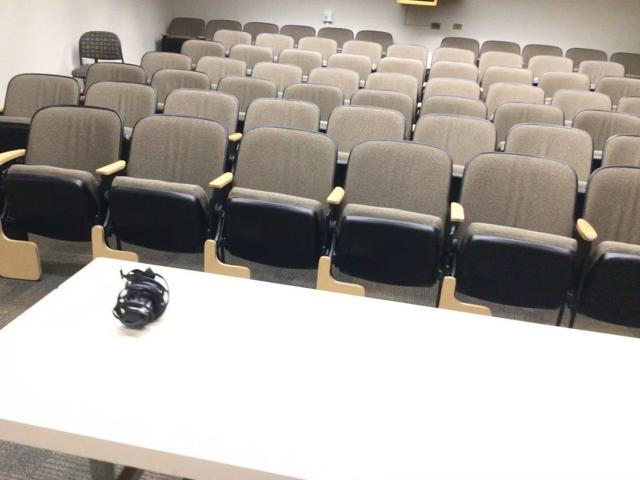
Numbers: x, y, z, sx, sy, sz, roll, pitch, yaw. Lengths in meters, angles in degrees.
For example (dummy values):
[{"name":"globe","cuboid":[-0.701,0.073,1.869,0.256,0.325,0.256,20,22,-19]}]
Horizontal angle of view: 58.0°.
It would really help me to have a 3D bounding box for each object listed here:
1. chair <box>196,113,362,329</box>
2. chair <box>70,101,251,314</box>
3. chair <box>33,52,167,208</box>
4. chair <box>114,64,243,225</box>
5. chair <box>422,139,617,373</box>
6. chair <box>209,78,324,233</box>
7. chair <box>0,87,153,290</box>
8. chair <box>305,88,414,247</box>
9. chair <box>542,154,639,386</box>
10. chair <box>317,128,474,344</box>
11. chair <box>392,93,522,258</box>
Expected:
[{"name":"chair","cuboid":[-0.180,-0.120,2.700,0.590,0.770,0.590,9,23,10]},{"name":"chair","cuboid":[-0.710,-0.190,2.760,0.560,0.780,0.660,8,23,8]},{"name":"chair","cuboid":[-1.320,-0.700,3.600,0.570,0.810,0.570,5,23,-1]},{"name":"chair","cuboid":[-0.840,-0.610,3.580,0.570,0.810,0.630,6,23,3]},{"name":"chair","cuboid":[0.820,0.040,2.520,0.580,0.780,0.540,10,24,12]},{"name":"chair","cuboid":[-0.320,-0.540,3.570,0.570,0.770,0.570,7,23,5]},{"name":"chair","cuboid":[-1.200,-0.270,2.820,0.560,0.810,0.540,6,23,3]},{"name":"chair","cuboid":[0.250,-0.460,3.480,0.510,0.760,0.630,8,23,7]},{"name":"chair","cuboid":[1.340,0.120,2.370,0.610,0.760,0.570,10,22,12]},{"name":"chair","cuboid":[0.350,-0.050,2.630,0.540,0.750,0.570,10,24,12]},{"name":"chair","cuboid":[0.780,-0.400,3.390,0.560,0.790,0.550,9,21,9]}]
